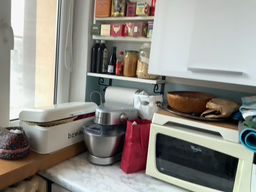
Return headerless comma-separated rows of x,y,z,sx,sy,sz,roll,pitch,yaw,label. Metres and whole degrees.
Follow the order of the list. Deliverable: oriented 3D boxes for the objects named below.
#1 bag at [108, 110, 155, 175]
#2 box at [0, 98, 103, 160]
0.020,0.240,1.160,0.160,0.280,0.170,12,11,33,bag
-0.430,0.140,1.170,0.260,0.180,0.550,13,11,36,box
